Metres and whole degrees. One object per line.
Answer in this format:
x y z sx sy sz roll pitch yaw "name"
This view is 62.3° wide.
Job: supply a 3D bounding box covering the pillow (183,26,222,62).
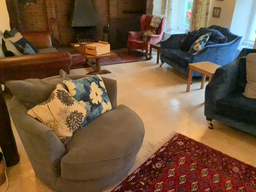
1.370 -0.960 3.910 0.270 0.510 0.460 -45 33 4 "pillow"
